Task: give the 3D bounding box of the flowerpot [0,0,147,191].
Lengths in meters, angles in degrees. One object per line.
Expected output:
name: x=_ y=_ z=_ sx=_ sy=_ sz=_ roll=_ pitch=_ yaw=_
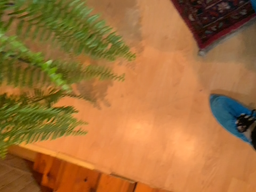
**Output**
flowerpot: x=-0.540 y=-0.170 z=0.450 sx=0.690 sy=1.240 sz=0.900 roll=-44 pitch=86 yaw=6
